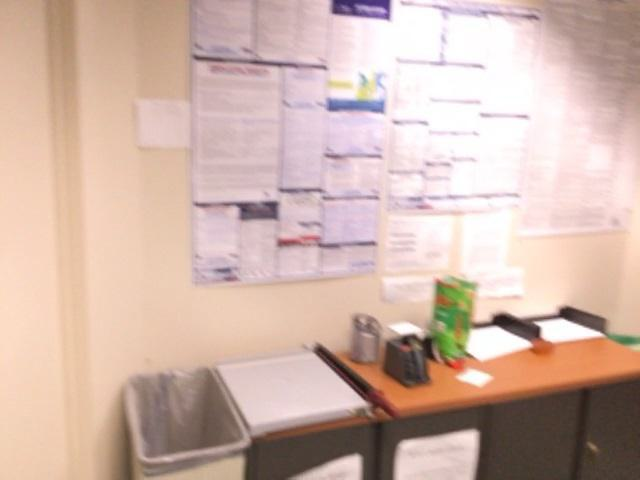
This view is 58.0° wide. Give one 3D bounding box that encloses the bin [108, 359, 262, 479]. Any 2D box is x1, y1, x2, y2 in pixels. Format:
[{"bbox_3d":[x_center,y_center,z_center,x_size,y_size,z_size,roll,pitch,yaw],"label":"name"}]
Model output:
[{"bbox_3d":[-0.390,0.810,1.650,0.340,0.740,0.530,-5,12,-20],"label":"bin"}]
